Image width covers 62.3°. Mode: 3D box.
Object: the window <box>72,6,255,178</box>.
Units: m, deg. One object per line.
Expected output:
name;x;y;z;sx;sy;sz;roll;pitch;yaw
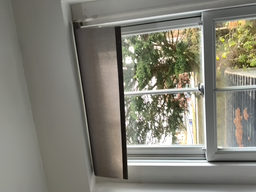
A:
window;0.510;0.010;1.130;0.120;1.540;0.870;-52;-43;-73
